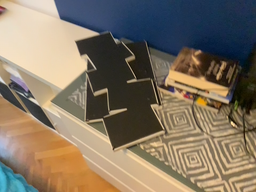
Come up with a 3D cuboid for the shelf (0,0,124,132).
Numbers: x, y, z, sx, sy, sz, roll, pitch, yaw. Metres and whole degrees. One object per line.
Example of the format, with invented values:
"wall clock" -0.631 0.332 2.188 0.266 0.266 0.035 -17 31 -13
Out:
"shelf" -0.760 -0.350 1.430 1.450 0.380 0.430 26 57 23
